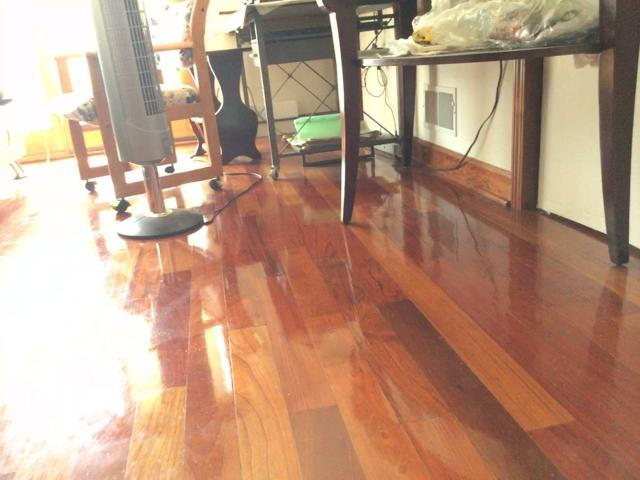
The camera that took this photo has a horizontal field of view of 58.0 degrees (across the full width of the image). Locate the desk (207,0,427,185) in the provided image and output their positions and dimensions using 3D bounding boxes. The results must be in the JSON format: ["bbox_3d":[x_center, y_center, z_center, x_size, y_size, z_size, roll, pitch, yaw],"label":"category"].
[{"bbox_3d":[-0.130,-0.890,3.040,0.810,0.860,1.520,-4,18,-12],"label":"desk"}]
